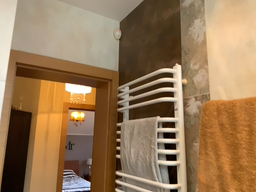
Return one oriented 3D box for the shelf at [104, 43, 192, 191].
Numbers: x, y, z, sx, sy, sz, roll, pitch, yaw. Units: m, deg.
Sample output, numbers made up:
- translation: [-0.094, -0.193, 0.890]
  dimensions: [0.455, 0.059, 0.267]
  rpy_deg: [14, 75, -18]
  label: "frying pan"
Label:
- translation: [0.070, 0.350, 1.280]
  dimensions: [0.190, 1.120, 0.670]
  rpy_deg: [7, -13, -25]
  label: "shelf"
